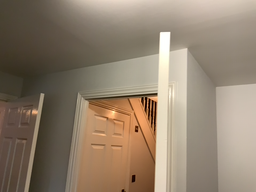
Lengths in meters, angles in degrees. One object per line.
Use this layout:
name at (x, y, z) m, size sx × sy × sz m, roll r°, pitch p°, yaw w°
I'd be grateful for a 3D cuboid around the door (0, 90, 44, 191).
door at (-1.140, 0.980, 1.960) m, size 0.850 × 2.030 × 0.030 m, roll -9°, pitch -18°, yaw 44°
